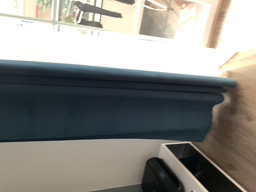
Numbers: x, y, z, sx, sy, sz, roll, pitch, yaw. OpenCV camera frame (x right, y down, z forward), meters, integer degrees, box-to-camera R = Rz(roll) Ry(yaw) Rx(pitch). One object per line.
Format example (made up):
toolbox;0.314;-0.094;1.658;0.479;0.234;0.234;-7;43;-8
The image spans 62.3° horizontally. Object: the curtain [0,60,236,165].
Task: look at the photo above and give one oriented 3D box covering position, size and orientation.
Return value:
curtain;-0.420;0.080;1.270;0.240;2.630;0.520;-154;67;-63
